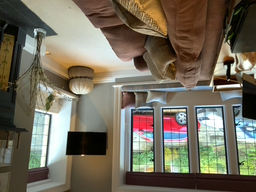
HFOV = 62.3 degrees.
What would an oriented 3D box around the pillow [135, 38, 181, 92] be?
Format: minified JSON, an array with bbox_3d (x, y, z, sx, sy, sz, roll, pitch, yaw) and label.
[{"bbox_3d":[0.290,-0.350,2.250,0.180,0.480,0.550,8,-167,-17],"label":"pillow"}]

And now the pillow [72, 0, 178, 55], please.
[{"bbox_3d":[0.020,-0.560,1.330,0.440,0.350,0.560,-5,167,26],"label":"pillow"}]
